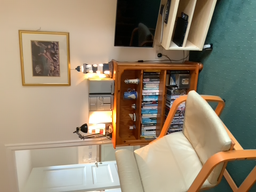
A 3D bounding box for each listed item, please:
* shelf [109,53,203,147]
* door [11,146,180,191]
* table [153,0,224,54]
[{"bbox_3d":[0.280,0.030,2.390,0.330,0.930,0.960,-131,42,-70],"label":"shelf"},{"bbox_3d":[-0.460,1.140,3.210,1.110,2.160,0.150,-140,50,-73],"label":"door"},{"bbox_3d":[0.580,-0.810,2.100,0.420,0.450,0.660,-113,25,-57],"label":"table"}]
